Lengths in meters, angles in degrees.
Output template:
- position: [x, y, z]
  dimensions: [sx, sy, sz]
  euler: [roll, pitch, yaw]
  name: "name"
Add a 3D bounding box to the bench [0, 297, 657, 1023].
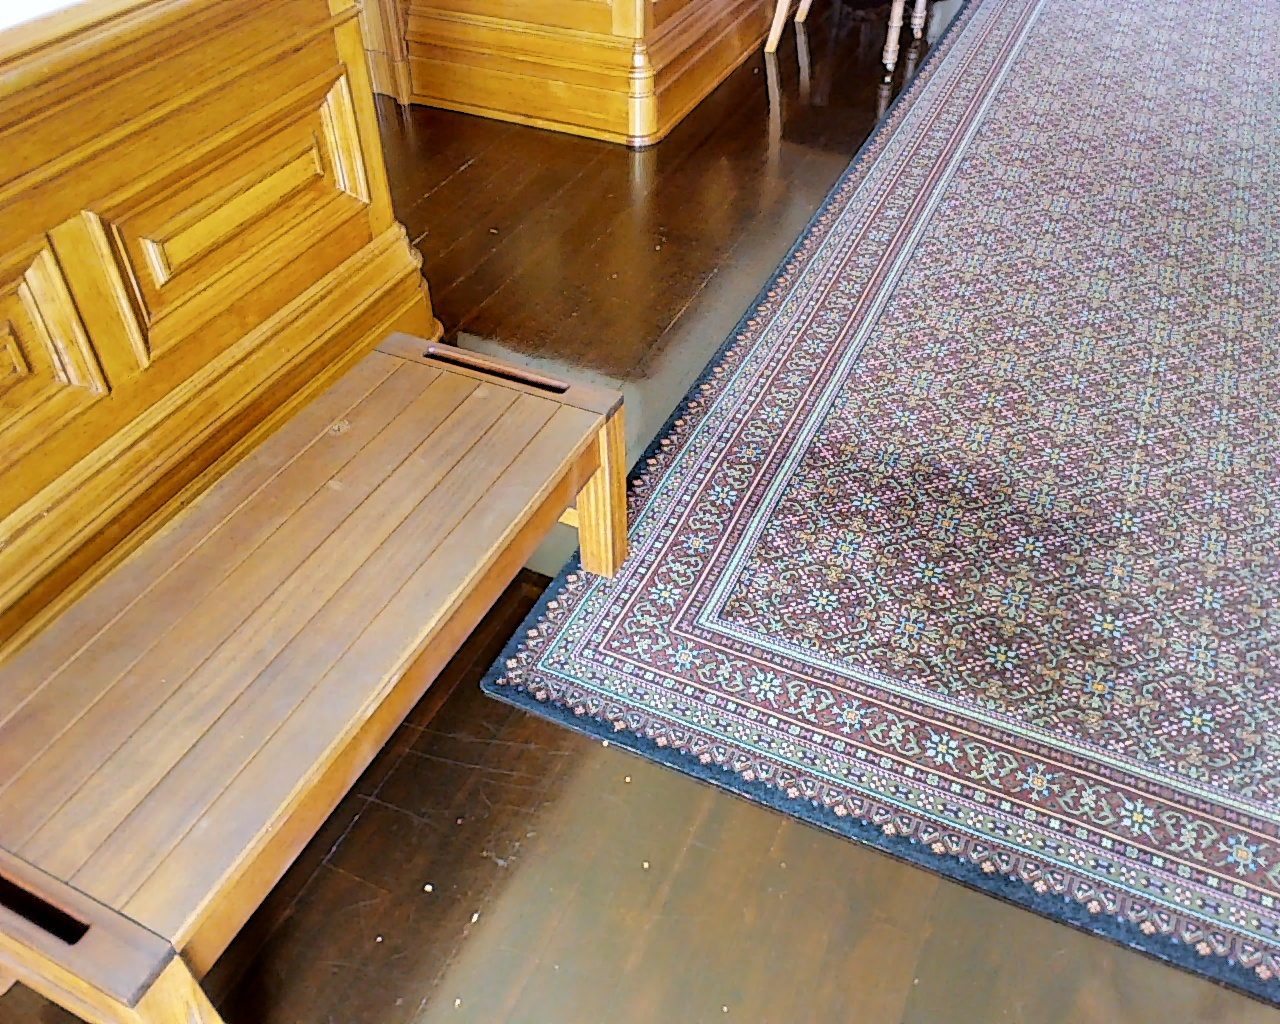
- position: [-0.510, 0.200, 1.770]
  dimensions: [0.580, 0.410, 1.300]
  euler: [18, 45, 18]
  name: "bench"
